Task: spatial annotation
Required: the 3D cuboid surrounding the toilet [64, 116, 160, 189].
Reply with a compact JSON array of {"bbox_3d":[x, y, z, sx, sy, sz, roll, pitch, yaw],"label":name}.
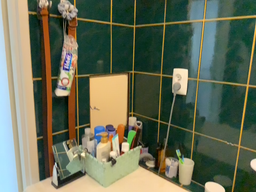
[{"bbox_3d":[-0.070,0.240,1.030,0.380,0.160,0.260,-10,17,-43],"label":"toilet"}]
